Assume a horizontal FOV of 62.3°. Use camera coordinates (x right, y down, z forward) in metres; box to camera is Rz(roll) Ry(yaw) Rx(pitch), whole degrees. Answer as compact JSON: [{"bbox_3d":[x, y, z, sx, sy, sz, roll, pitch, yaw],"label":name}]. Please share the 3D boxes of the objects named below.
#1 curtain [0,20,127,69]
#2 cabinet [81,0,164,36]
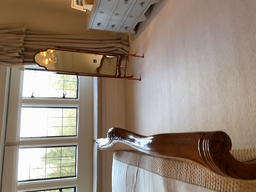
[{"bbox_3d":[-1.100,-0.850,3.680,0.220,2.200,0.560,158,113,-68],"label":"curtain"},{"bbox_3d":[-0.140,-1.490,3.060,1.160,0.900,0.680,154,116,-68],"label":"cabinet"}]
